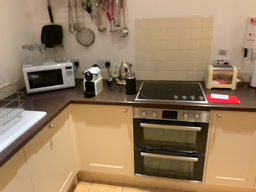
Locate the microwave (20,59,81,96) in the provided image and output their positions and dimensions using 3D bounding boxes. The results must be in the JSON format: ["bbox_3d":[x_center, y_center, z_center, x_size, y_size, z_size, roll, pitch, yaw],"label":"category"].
[{"bbox_3d":[-0.760,-0.200,2.090,0.500,0.230,0.300,-11,23,-22],"label":"microwave"}]

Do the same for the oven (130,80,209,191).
[{"bbox_3d":[0.380,0.380,2.090,0.600,0.910,0.600,3,22,11],"label":"oven"}]
